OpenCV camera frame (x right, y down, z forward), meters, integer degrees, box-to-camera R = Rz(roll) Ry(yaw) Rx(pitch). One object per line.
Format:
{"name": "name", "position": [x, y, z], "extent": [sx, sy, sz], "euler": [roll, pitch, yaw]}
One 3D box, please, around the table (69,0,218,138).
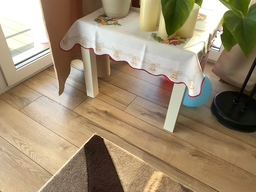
{"name": "table", "position": [0.080, -0.190, 1.170], "extent": [0.580, 0.450, 0.460], "euler": [23, 44, 21]}
